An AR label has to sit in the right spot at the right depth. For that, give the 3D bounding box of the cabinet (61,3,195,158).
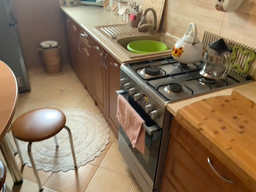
[{"bbox_3d":[-0.210,-0.390,2.410,0.600,0.910,1.920,-13,36,-23],"label":"cabinet"}]
